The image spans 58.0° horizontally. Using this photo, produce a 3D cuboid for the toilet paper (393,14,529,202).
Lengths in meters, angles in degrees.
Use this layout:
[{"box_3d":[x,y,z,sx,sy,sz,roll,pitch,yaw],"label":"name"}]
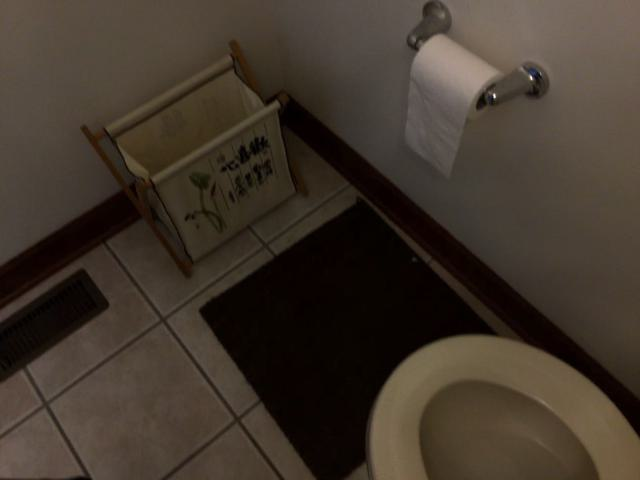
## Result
[{"box_3d":[0.210,-0.200,0.920,0.090,0.250,0.140,-36,66,-19],"label":"toilet paper"}]
